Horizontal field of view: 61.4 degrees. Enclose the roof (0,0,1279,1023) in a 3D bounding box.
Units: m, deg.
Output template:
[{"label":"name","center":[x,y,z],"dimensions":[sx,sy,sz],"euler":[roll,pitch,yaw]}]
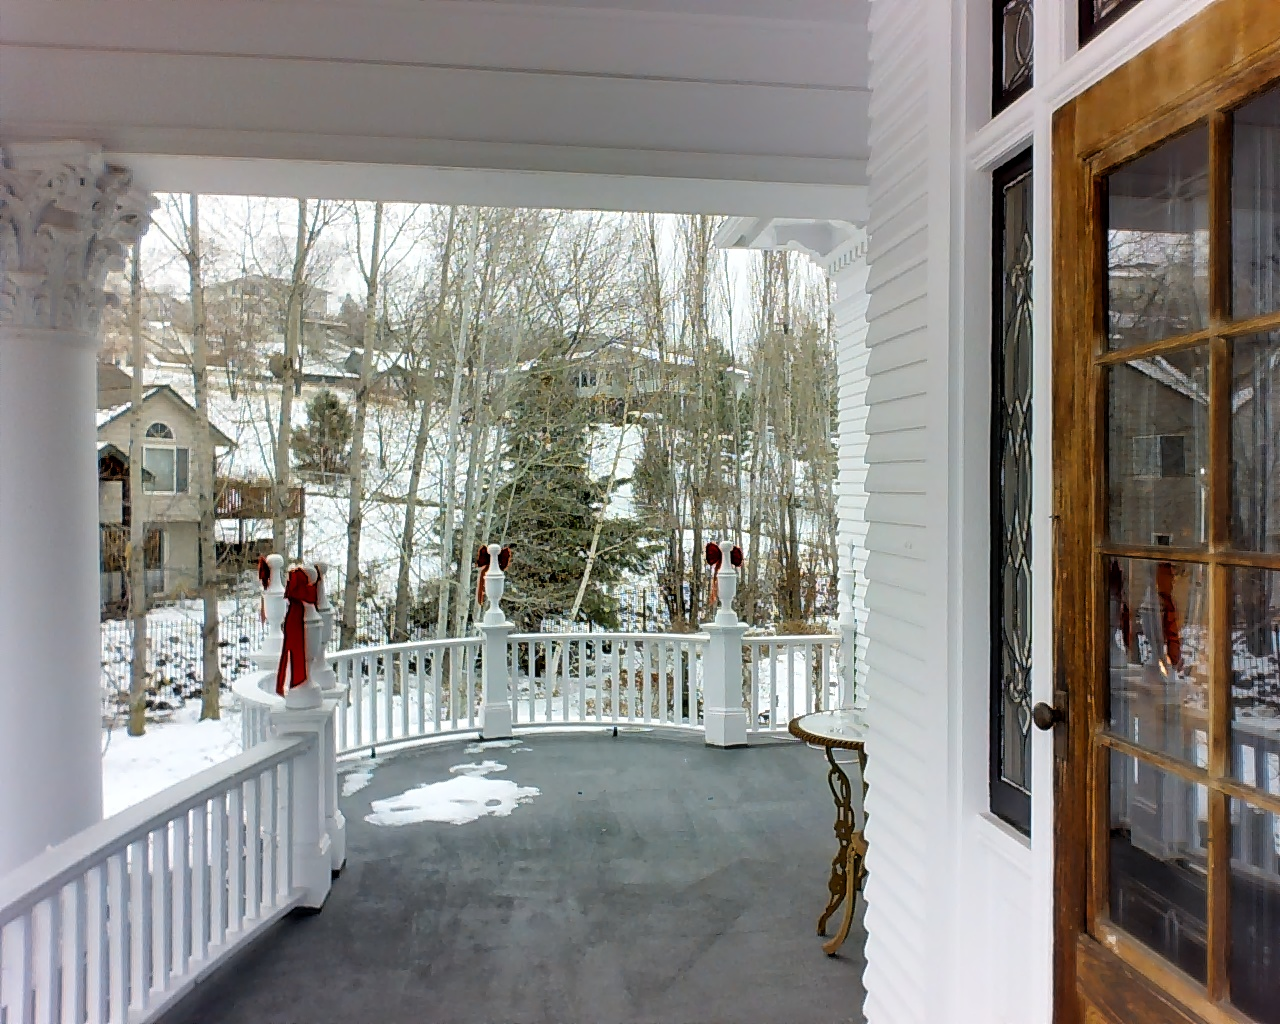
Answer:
[{"label":"roof","center":[0.170,-0.460,0.300],"dimensions":[3.849,2.871,9.350],"euler":[0,0,-7]}]
